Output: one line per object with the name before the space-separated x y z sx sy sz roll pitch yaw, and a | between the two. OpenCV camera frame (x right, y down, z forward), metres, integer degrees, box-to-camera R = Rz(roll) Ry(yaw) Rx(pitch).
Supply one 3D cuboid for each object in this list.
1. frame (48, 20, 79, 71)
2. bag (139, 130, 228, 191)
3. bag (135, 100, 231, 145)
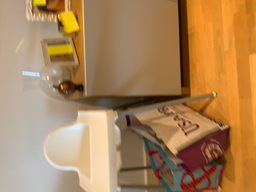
frame | -0.360 -0.270 1.180 0.140 0.130 0.240 -2 89 59
bag | 0.320 0.380 1.290 0.410 0.330 0.250 2 93 59
bag | 0.310 0.130 1.270 0.430 0.350 0.190 0 91 59
